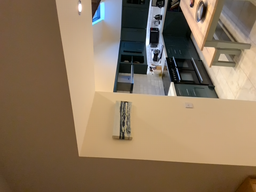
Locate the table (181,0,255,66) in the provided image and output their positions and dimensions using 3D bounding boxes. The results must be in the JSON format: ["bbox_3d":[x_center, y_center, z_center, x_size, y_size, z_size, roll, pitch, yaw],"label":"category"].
[{"bbox_3d":[1.500,-1.450,3.380,2.120,0.780,0.860,-88,2,-48],"label":"table"}]
